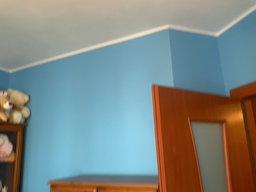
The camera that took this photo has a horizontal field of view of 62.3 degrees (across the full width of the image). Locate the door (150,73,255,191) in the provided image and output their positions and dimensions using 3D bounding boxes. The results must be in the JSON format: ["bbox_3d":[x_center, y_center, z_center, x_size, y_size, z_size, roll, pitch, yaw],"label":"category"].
[{"bbox_3d":[0.570,0.950,1.190,0.870,2.110,0.110,7,-17,-32],"label":"door"}]
